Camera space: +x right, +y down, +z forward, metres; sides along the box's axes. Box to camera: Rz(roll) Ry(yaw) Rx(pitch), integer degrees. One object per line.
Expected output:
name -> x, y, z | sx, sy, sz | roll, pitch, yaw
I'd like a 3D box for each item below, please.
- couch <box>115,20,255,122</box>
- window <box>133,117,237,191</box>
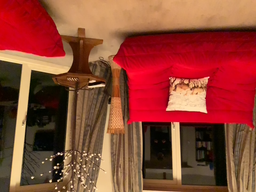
couch -> 0.760, -0.160, 2.340 | 1.610, 0.830, 1.050 | -1, 170, 8
window -> 0.820, 0.890, 3.200 | 1.470, 1.140, 0.090 | -1, 170, 8
